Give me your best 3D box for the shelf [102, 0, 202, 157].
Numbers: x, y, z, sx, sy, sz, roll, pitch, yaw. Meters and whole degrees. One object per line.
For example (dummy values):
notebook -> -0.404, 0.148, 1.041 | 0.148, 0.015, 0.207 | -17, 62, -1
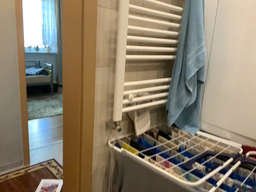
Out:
shelf -> 0.160, -0.370, 1.110 | 0.570, 1.270, 0.140 | -10, 20, -43
